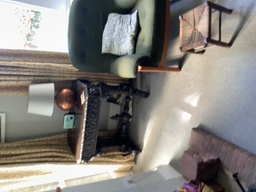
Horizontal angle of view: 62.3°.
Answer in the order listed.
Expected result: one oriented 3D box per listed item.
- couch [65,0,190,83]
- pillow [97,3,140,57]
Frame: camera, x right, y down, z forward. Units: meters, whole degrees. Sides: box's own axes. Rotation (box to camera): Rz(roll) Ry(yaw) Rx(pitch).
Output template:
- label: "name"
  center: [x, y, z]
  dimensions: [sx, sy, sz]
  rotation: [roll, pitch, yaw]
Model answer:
- label: "couch"
  center: [-0.060, -0.570, 1.960]
  dimensions: [0.820, 0.810, 0.800]
  rotation: [15, 102, 60]
- label: "pillow"
  center: [-0.100, -0.600, 1.980]
  dimensions: [0.340, 0.220, 0.420]
  rotation: [27, 112, 58]
